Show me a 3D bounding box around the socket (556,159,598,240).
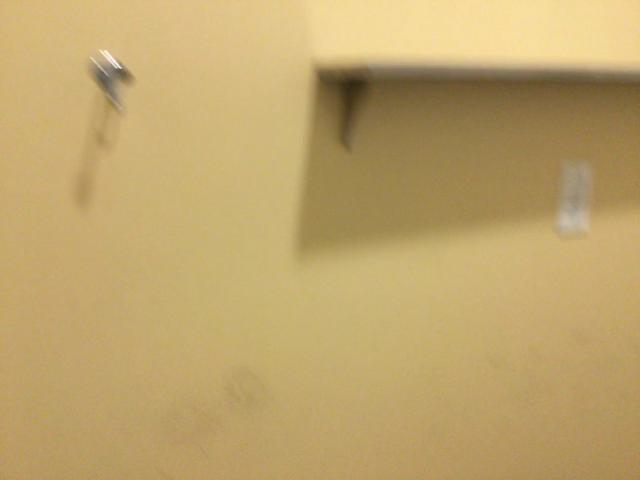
[{"bbox_3d":[0.440,-0.070,0.990,0.080,0.130,0.010,-9,13,-24],"label":"socket"}]
